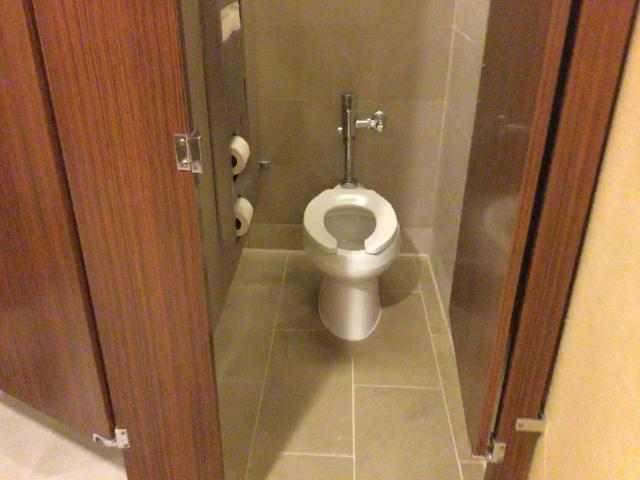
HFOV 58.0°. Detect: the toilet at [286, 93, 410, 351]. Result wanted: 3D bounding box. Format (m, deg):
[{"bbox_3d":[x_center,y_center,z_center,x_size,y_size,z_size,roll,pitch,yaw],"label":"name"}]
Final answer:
[{"bbox_3d":[0.110,-0.110,2.260,0.380,0.790,0.720,0,24,3],"label":"toilet"}]
